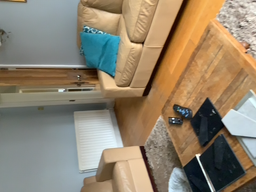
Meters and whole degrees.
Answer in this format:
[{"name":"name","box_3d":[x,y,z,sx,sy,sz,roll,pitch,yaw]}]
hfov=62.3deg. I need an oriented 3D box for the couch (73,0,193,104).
[{"name":"couch","box_3d":[-0.030,-1.050,2.090,2.180,0.810,1.090,109,151,-47]}]
